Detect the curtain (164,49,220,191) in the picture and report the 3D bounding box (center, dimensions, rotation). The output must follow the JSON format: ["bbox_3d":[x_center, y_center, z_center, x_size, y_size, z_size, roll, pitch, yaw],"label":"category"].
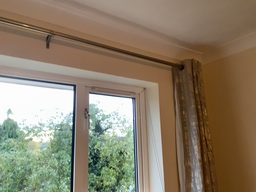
[{"bbox_3d":[0.500,0.330,1.660,0.250,1.340,0.230,8,-15,-38],"label":"curtain"}]

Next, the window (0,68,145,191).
[{"bbox_3d":[-0.560,0.390,1.330,1.690,1.060,0.080,8,-15,-38],"label":"window"}]
